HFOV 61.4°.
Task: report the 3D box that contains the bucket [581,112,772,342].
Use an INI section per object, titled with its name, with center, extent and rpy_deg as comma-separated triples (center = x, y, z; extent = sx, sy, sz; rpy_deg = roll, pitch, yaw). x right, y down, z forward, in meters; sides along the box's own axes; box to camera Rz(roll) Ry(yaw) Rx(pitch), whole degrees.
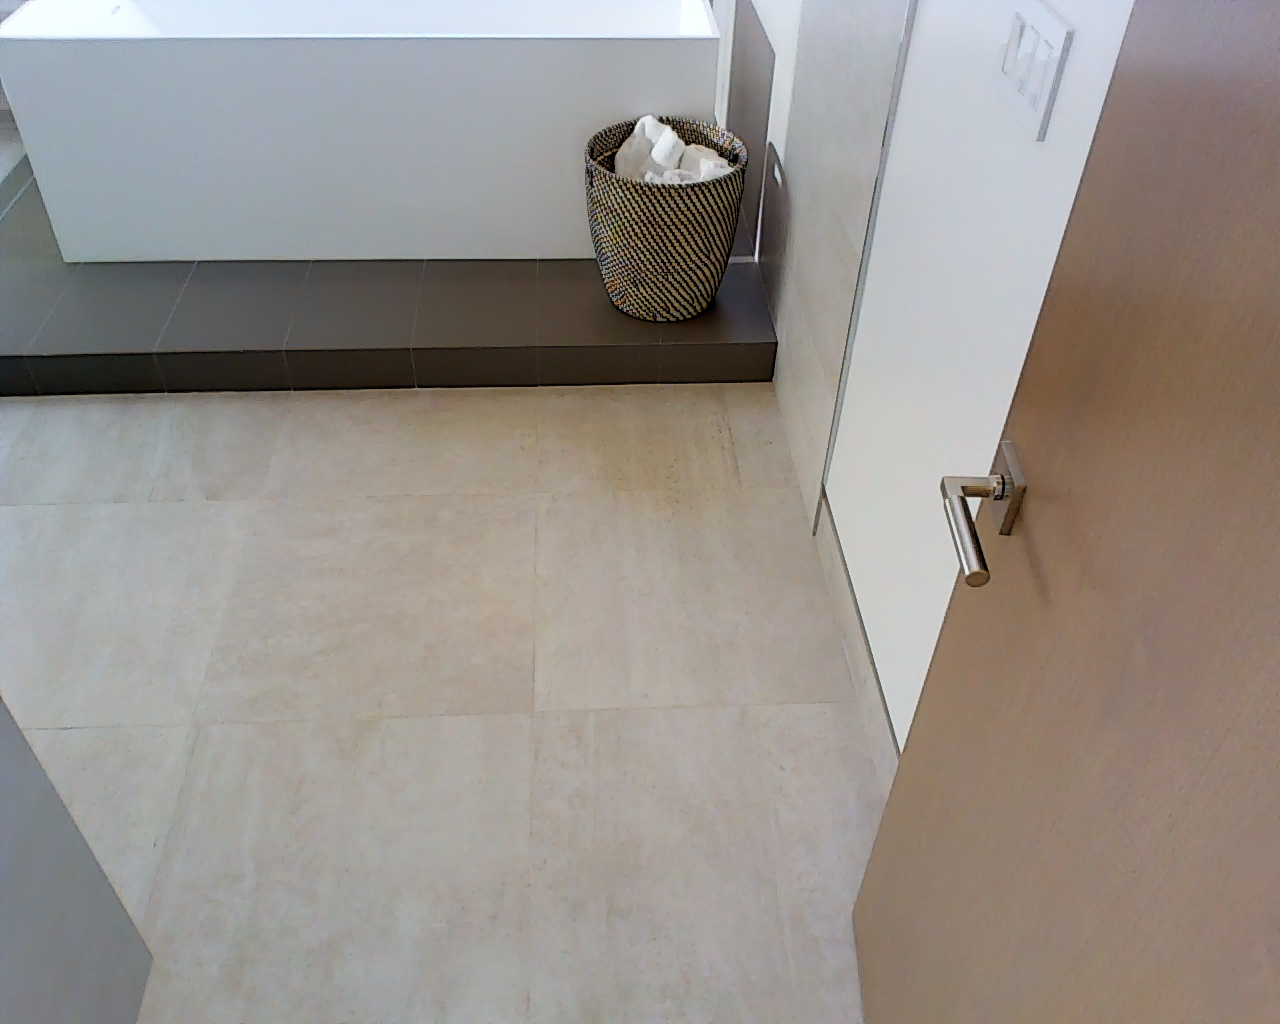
[bucket]
center = 0.070, -0.710, 2.680
extent = 0.420, 0.420, 0.390
rpy_deg = -1, 42, -3

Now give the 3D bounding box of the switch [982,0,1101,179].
[switch]
center = 0.440, -0.500, 1.200
extent = 0.010, 0.160, 0.240
rpy_deg = -1, 42, -3
